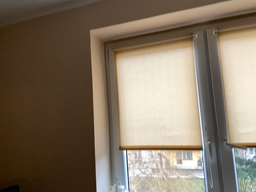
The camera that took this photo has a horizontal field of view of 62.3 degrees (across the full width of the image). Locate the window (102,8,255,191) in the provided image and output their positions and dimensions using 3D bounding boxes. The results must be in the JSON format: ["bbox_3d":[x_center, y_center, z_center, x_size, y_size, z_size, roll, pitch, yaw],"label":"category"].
[{"bbox_3d":[0.540,0.250,1.290,1.410,1.510,0.060,-5,-6,16],"label":"window"}]
